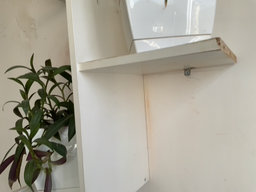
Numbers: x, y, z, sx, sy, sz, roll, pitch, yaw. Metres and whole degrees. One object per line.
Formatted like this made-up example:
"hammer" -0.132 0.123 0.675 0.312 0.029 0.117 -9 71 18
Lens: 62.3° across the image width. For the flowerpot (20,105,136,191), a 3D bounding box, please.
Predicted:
"flowerpot" -0.140 0.160 0.660 0.220 0.240 0.260 -2 2 31
